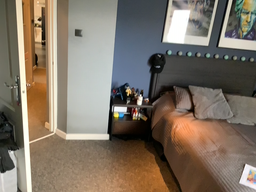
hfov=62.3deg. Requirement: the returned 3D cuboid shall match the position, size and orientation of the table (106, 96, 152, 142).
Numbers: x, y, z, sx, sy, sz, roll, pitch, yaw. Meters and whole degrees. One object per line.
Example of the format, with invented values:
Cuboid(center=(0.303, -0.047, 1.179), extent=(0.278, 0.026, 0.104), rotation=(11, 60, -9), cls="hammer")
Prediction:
Cuboid(center=(-0.010, 0.330, 3.080), extent=(0.560, 0.530, 0.390), rotation=(3, 19, -11), cls="table")
